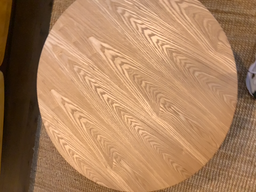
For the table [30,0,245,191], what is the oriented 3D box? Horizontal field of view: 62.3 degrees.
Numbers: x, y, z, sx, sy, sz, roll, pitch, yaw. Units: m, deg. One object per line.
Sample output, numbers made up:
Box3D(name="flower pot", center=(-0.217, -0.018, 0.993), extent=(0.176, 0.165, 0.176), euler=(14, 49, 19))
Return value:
Box3D(name="table", center=(0.020, -0.040, 0.960), extent=(0.800, 0.360, 0.810), euler=(5, 94, 19))
